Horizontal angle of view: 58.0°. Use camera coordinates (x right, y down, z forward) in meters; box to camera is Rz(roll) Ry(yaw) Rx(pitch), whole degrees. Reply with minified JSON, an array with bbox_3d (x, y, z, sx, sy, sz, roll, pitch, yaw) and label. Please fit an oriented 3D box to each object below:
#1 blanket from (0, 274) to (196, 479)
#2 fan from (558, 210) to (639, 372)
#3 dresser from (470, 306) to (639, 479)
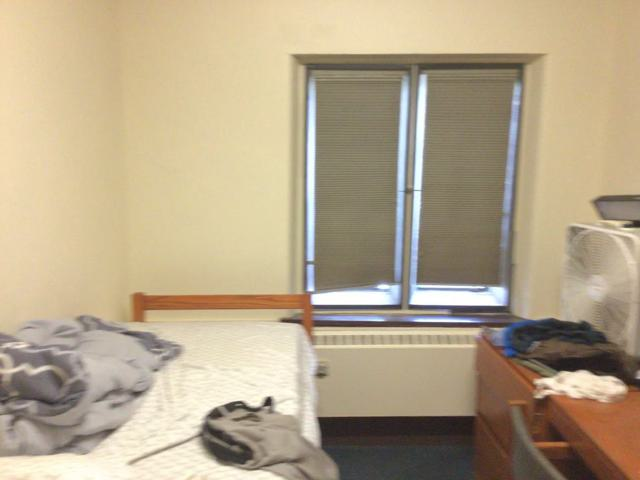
[{"bbox_3d":[-0.780,0.370,1.930,0.470,0.300,1.070,-1,8,1],"label":"blanket"},{"bbox_3d":[1.260,0.180,2.410,0.290,0.560,0.560,-1,8,1],"label":"fan"},{"bbox_3d":[1.080,0.790,2.390,0.680,0.820,0.920,-1,8,1],"label":"dresser"}]
